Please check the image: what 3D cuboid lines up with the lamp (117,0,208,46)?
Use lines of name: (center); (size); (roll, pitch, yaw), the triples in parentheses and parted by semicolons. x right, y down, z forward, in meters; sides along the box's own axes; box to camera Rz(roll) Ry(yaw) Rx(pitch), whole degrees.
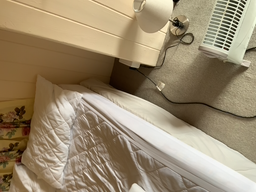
lamp: (0.230, -0.520, 1.340); (0.290, 0.480, 0.240); (33, 110, 39)
